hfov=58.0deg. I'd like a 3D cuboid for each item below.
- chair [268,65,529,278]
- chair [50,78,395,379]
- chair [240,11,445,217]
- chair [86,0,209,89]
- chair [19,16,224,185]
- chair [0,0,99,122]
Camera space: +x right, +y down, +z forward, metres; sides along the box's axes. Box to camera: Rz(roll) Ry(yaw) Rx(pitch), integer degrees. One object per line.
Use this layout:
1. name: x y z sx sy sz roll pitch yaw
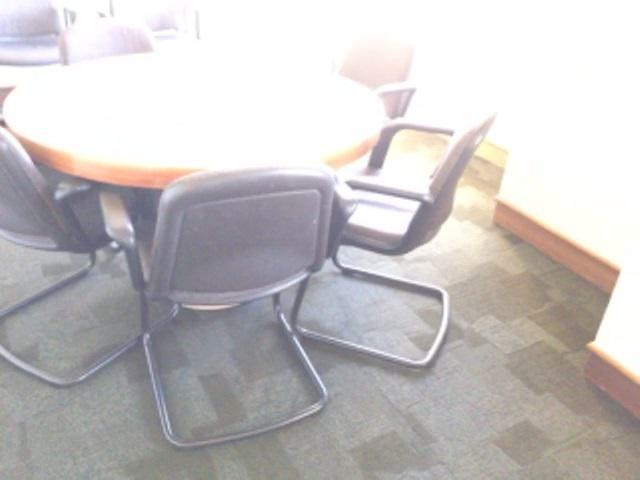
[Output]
1. chair: 0.180 -0.240 1.840 0.670 0.450 0.600 1 31 -4
2. chair: -0.280 -0.100 1.560 0.670 0.450 0.630 -14 35 -26
3. chair: 0.070 -0.620 2.670 0.580 0.680 0.680 -22 39 -36
4. chair: -1.100 -1.360 3.670 0.590 0.600 0.560 -14 35 -27
5. chair: -0.810 -0.610 2.390 0.640 0.480 0.560 -14 35 -27
6. chair: -1.740 -1.180 3.420 0.610 0.740 0.610 -14 35 -27
